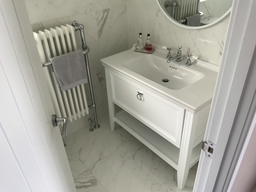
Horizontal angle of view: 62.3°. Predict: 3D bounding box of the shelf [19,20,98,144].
[{"bbox_3d":[-0.560,-0.100,1.900,0.440,1.020,0.200,-26,40,-32],"label":"shelf"}]
